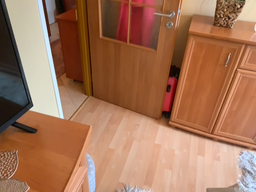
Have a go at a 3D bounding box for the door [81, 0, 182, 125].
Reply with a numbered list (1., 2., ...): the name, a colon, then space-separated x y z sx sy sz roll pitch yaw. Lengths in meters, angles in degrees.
1. door: -0.010 -0.690 1.820 0.870 2.050 0.130 21 40 21
